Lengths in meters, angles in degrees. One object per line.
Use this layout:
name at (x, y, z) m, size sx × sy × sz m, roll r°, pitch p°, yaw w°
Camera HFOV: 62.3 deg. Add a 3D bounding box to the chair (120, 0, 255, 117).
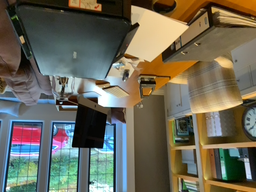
chair at (0.450, -0.380, 1.770) m, size 0.770 × 0.960 × 0.720 m, roll 8°, pitch 163°, yaw -31°
